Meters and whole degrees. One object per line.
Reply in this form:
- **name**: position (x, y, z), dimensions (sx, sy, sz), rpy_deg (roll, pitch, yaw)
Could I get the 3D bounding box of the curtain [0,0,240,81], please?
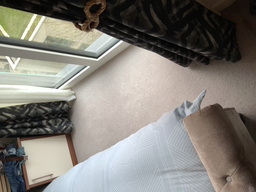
- **curtain**: position (-0.410, -0.310, 0.380), dimensions (0.390, 2.490, 0.300), rpy_deg (-36, 67, 36)
